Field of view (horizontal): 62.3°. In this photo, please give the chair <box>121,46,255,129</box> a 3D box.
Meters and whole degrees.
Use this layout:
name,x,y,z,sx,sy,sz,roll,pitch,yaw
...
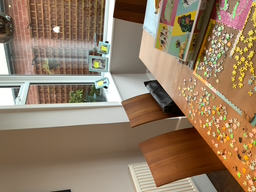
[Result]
name,x,y,z,sx,sy,sz,roll,pitch,yaw
chair,0.490,-0.090,1.750,0.420,0.970,0.470,-115,28,-51
